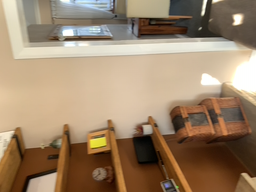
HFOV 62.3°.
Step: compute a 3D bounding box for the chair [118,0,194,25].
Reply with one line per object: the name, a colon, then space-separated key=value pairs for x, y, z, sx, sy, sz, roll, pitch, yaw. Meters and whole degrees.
chair: x=0.380 y=-1.360 z=3.220 sx=0.640 sy=0.970 sz=0.420 roll=-112 pitch=22 yaw=-60
